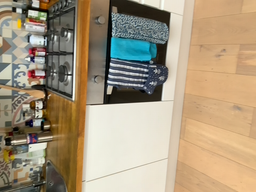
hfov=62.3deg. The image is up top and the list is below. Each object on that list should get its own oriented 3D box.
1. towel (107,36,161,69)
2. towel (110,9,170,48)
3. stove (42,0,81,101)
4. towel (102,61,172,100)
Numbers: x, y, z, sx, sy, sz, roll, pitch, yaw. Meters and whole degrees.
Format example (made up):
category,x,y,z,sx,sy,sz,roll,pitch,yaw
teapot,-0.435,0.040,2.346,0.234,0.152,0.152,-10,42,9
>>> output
category,x,y,z,sx,sy,sz,roll,pitch,yaw
towel,0.040,-0.240,1.210,0.090,0.310,0.150,15,104,52
towel,0.080,-0.380,1.240,0.070,0.380,0.160,17,105,51
stove,-0.430,-0.290,1.300,0.580,0.020,0.540,16,104,51
towel,0.070,-0.090,1.280,0.070,0.460,0.200,17,105,51
